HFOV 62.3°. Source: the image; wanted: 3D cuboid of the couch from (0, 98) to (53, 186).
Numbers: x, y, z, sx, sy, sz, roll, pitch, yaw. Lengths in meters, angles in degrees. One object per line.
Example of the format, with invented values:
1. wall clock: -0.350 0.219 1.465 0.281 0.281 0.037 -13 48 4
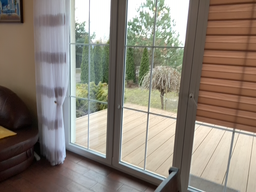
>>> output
1. couch: -1.460 0.510 2.580 0.640 0.750 0.800 12 15 33
